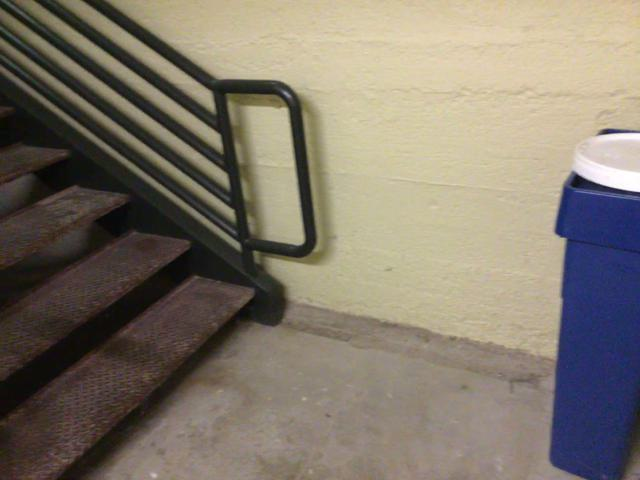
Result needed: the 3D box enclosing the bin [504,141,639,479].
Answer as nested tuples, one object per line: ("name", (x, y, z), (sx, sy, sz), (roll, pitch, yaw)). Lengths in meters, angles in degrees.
("bin", (0.720, 0.220, 1.460), (0.350, 0.840, 0.320), (11, 30, 24))
